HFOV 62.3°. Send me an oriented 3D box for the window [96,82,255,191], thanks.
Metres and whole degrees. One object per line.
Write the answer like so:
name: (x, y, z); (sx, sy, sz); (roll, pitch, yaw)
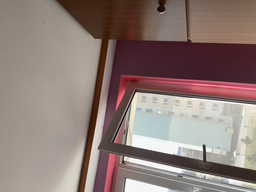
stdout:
window: (0.470, 1.100, 1.630); (0.170, 1.580, 2.290); (23, -105, -72)
